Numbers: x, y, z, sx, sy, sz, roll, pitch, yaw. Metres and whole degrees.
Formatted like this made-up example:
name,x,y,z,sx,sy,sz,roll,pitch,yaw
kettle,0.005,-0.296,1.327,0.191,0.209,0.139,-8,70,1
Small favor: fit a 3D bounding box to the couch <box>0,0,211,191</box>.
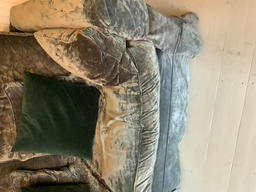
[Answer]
name,x,y,z,sx,sy,sz,roll,pitch,yaw
couch,-0.390,0.430,1.450,1.260,0.870,2.030,16,107,44
